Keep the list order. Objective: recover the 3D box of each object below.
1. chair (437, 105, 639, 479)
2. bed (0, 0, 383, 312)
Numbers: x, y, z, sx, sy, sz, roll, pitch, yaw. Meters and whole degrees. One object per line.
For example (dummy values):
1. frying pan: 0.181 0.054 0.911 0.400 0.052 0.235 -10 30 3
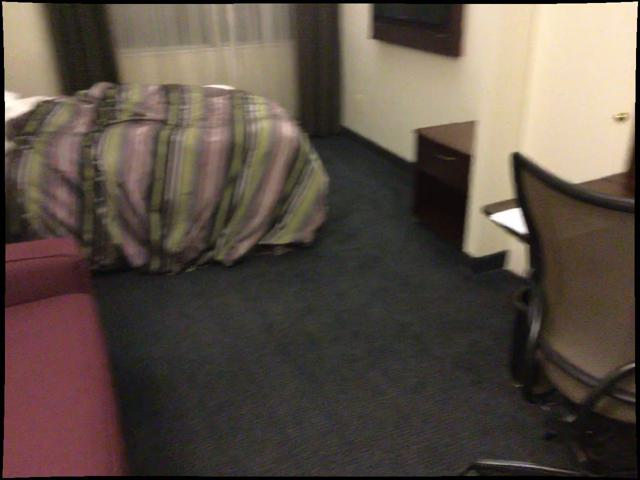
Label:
1. chair: 0.789 0.280 1.520 0.649 1.111 0.550 -11 29 -21
2. bed: -1.169 -0.901 3.290 2.398 1.601 1.850 -11 29 -21
